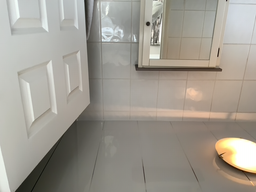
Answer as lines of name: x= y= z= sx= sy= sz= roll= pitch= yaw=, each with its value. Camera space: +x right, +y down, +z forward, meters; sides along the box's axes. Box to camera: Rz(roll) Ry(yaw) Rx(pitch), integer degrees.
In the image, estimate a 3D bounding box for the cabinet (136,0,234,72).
cabinet: x=0.330 y=-0.510 z=1.290 sx=0.540 sy=0.700 sz=0.140 roll=0 pitch=-160 yaw=-2
